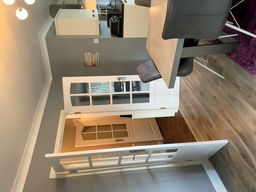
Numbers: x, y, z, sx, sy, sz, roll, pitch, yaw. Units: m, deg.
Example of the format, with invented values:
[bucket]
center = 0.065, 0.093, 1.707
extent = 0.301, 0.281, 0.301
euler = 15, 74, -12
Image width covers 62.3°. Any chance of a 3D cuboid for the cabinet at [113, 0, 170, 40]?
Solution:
[cabinet]
center = 0.200, -1.760, 4.490
extent = 1.320, 0.900, 0.660
euler = -104, 14, -53
